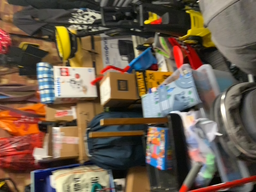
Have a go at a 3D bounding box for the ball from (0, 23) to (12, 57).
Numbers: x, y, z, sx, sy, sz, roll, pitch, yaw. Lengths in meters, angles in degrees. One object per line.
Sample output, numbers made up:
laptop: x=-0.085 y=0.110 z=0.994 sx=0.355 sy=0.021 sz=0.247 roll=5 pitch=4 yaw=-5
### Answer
ball: x=-1.120 y=-0.490 z=1.850 sx=0.140 sy=0.180 sz=0.240 roll=-39 pitch=55 yaw=56
